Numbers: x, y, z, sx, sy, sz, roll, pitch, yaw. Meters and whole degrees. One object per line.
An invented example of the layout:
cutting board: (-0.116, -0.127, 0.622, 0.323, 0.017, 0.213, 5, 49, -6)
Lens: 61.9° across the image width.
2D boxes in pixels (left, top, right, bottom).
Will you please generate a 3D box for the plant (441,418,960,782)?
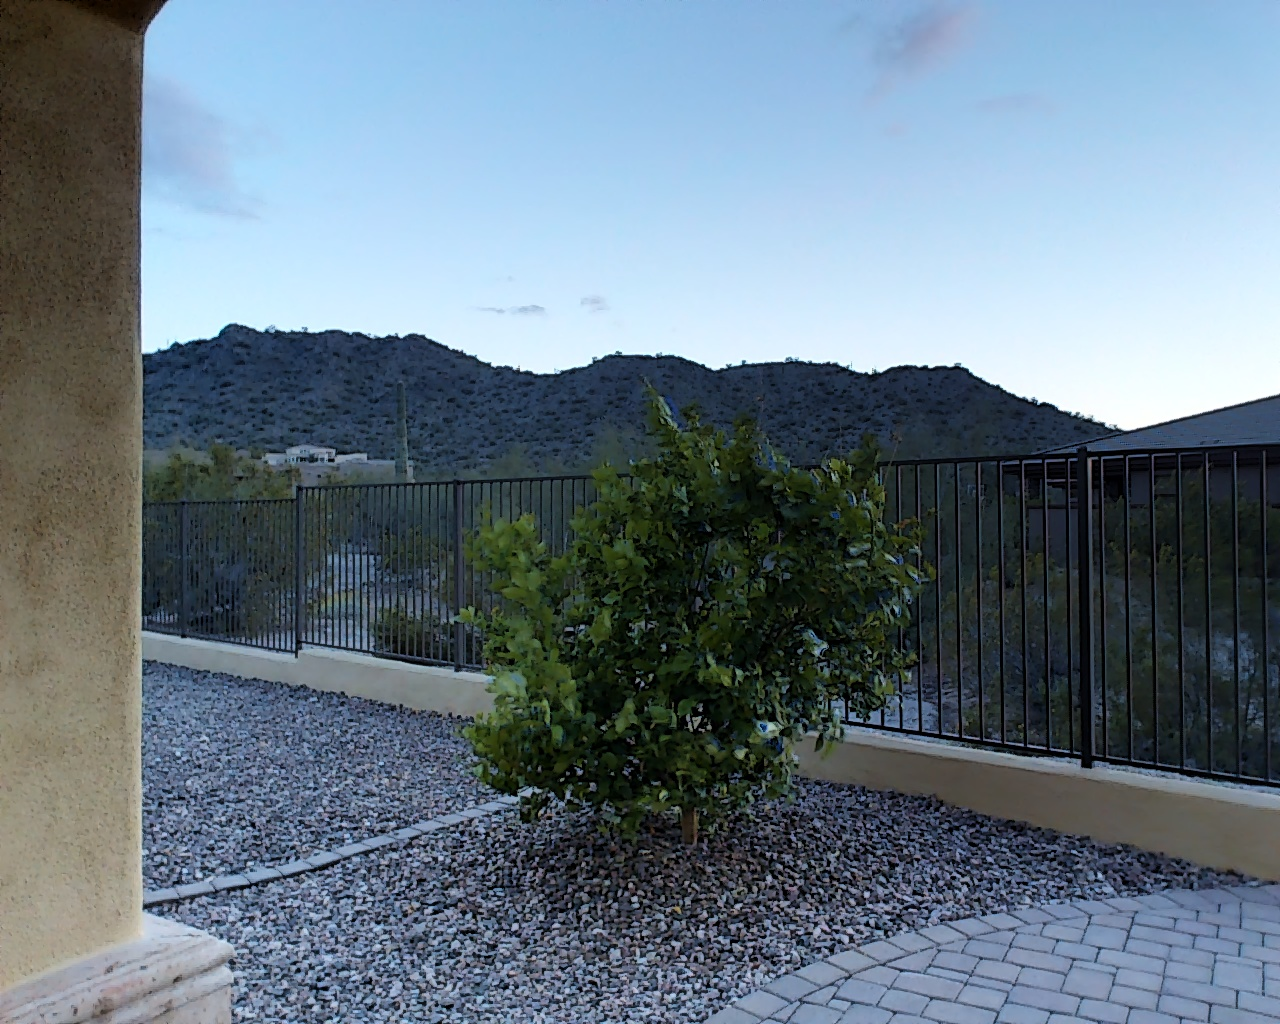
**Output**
plant: (0.200, 0.440, 4.790, 2.110, 0.850, 0.680, -26, -13, 28)
